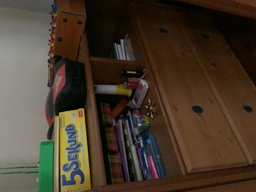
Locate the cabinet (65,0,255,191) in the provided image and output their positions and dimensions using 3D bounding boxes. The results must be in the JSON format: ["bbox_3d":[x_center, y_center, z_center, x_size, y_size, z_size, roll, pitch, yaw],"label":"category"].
[{"bbox_3d":[0.170,-0.010,1.060,0.480,0.860,0.930,121,144,-49],"label":"cabinet"}]
